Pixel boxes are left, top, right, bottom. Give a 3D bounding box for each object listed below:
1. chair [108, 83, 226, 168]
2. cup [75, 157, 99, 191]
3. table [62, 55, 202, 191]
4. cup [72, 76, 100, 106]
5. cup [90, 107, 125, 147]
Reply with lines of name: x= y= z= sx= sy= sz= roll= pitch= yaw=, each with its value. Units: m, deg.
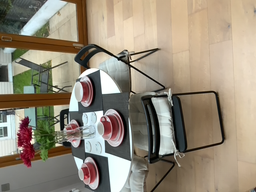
chair: x=0.300 y=0.190 z=1.650 sx=0.530 sy=0.680 sz=0.490 roll=-12 pitch=83 yaw=51
cup: x=-0.350 y=0.650 z=1.780 sx=0.250 sy=0.070 sz=0.230 roll=-10 pitch=84 yaw=51
table: x=-0.030 y=0.280 z=2.020 sx=1.070 sy=0.750 sz=1.050 roll=-7 pitch=87 yaw=52
cup: x=-0.370 y=-0.040 z=1.830 sx=0.280 sy=0.110 sz=0.230 roll=-6 pitch=87 yaw=52
cup: x=-0.150 y=0.210 z=1.480 sx=0.270 sy=0.090 sz=0.250 roll=-7 pitch=86 yaw=52
